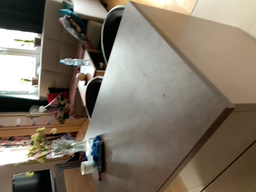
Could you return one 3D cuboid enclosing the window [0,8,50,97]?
[{"bbox_3d":[-2.510,-0.730,4.060,0.210,1.710,1.890,64,142,40],"label":"window"}]
